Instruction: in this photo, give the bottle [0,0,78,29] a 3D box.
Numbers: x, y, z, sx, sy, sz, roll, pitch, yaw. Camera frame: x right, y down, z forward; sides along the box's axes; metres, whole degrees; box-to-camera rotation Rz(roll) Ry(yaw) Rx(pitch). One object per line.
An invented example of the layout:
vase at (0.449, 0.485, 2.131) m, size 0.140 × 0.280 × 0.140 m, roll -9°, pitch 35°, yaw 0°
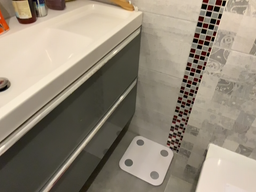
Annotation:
bottle at (-0.380, -0.450, 0.890) m, size 0.100 × 0.180 × 0.400 m, roll 19°, pitch 44°, yaw 17°
